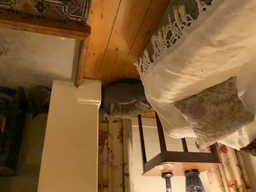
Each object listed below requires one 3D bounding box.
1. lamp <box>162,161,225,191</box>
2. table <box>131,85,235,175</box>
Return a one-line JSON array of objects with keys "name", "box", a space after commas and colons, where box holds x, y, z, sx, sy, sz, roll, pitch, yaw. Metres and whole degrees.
[{"name": "lamp", "box": [0.550, 0.870, 1.700, 0.360, 0.610, 0.310, 4, 149, -15]}, {"name": "table", "box": [0.450, 0.360, 2.060, 0.640, 0.650, 0.640, 4, 149, -14]}]
